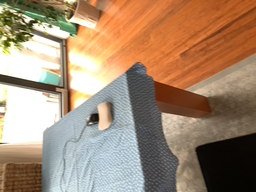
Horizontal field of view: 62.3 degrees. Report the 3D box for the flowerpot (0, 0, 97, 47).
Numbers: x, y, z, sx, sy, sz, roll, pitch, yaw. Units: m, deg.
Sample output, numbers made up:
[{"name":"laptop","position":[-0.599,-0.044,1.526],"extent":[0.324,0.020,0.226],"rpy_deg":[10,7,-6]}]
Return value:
[{"name":"flowerpot","position":[-1.090,-1.230,2.570],"extent":[0.450,1.330,0.760],"rpy_deg":[-32,57,40]}]
